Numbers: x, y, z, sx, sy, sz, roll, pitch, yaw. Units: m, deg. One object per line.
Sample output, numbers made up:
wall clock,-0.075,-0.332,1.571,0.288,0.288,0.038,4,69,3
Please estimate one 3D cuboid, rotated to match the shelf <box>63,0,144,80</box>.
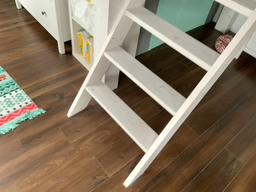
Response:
shelf,-0.160,-0.820,1.400,0.420,1.440,0.410,-30,59,-31
